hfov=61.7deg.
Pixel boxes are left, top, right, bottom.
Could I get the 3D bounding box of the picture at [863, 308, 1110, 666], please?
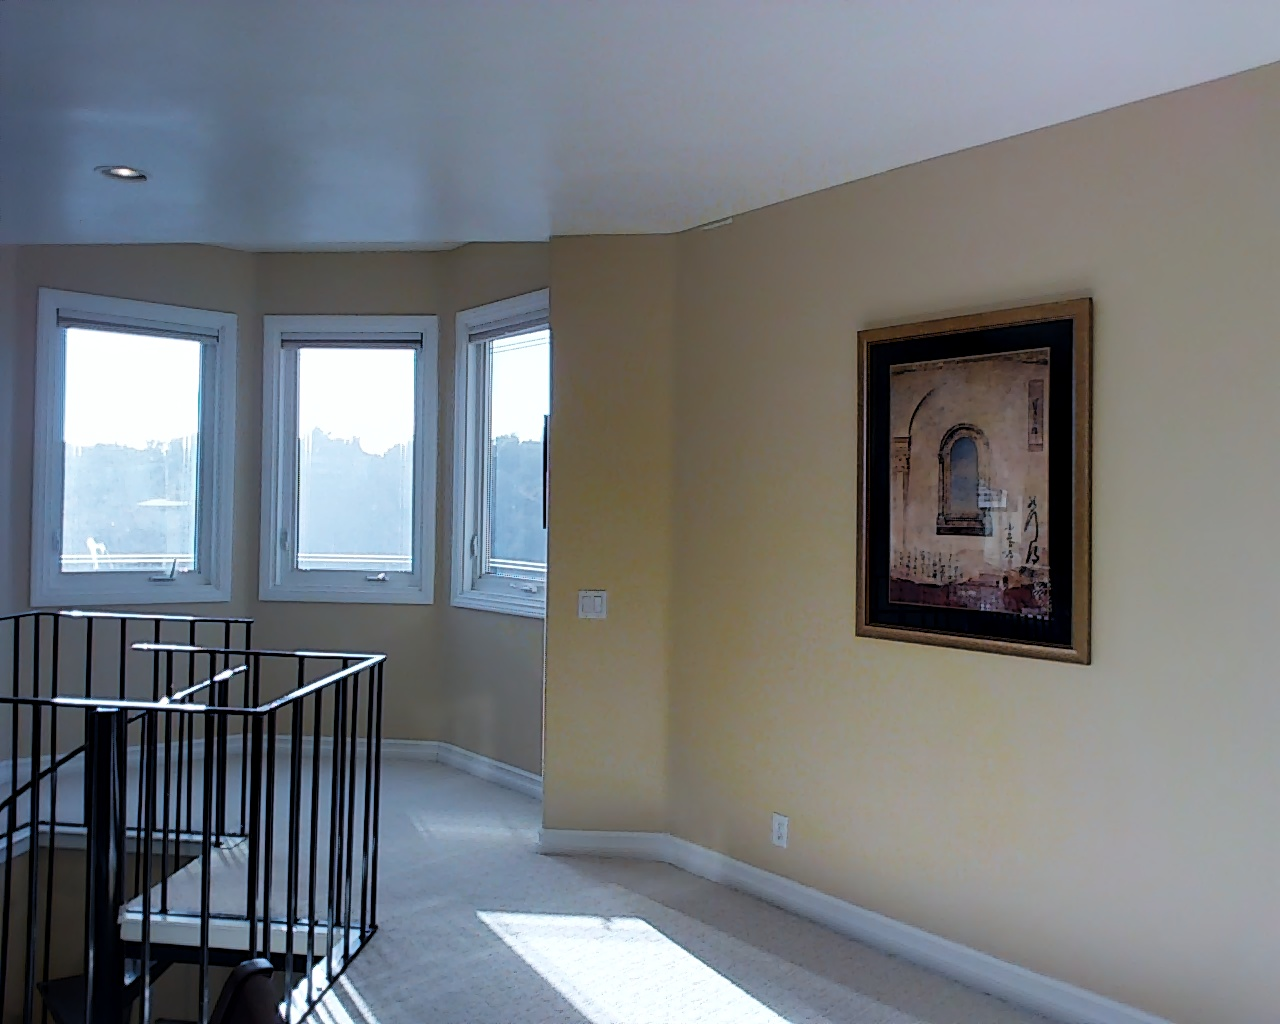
[{"bbox_3d":[1.010,-0.070,3.230,0.040,0.970,0.810,1,0,-38],"label":"picture"}]
